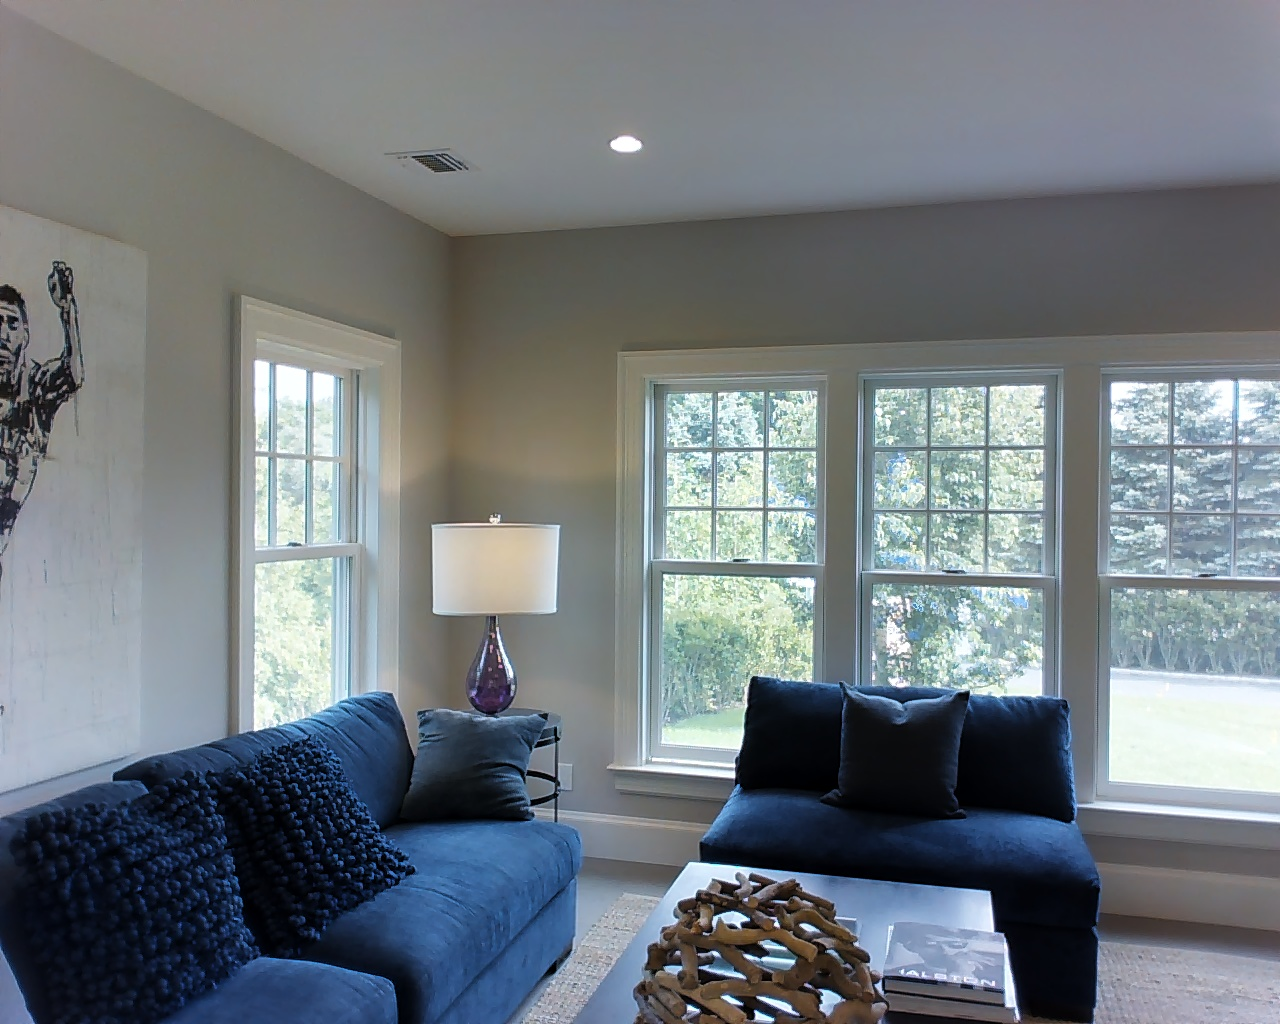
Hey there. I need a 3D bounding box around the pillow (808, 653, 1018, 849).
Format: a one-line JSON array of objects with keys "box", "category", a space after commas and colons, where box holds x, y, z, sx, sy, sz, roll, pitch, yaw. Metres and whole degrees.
[{"box": [0.940, 0.810, 3.730, 0.580, 0.440, 0.340, 16, 5, 14], "category": "pillow"}]

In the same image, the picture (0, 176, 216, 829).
[{"box": [-1.590, -0.020, 2.330, 0.060, 1.530, 1.910, 1, 0, 17], "category": "picture"}]

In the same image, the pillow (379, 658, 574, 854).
[{"box": [-0.540, 0.820, 3.670, 0.600, 0.200, 0.380, 39, 11, -6], "category": "pillow"}]

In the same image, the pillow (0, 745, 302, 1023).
[{"box": [-1.070, 0.800, 2.290, 0.400, 0.450, 0.610, 1, 0, 15], "category": "pillow"}]

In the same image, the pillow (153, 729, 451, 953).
[{"box": [-0.900, 0.850, 2.910, 0.500, 0.370, 0.580, 1, 0, 33], "category": "pillow"}]

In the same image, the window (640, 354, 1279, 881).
[{"box": [1.300, 0.370, 4.300, 2.640, 1.900, 0.210, 1, 0, 17], "category": "window"}]
